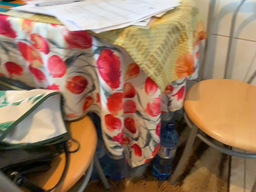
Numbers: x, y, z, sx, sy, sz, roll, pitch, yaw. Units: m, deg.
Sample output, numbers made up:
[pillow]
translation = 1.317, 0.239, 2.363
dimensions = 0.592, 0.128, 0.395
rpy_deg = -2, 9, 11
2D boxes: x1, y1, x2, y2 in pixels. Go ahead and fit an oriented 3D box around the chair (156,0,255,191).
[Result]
[chair]
translation = 0.400, 0.050, 0.820
dimensions = 0.380, 0.790, 0.460
rpy_deg = 16, 41, 17
